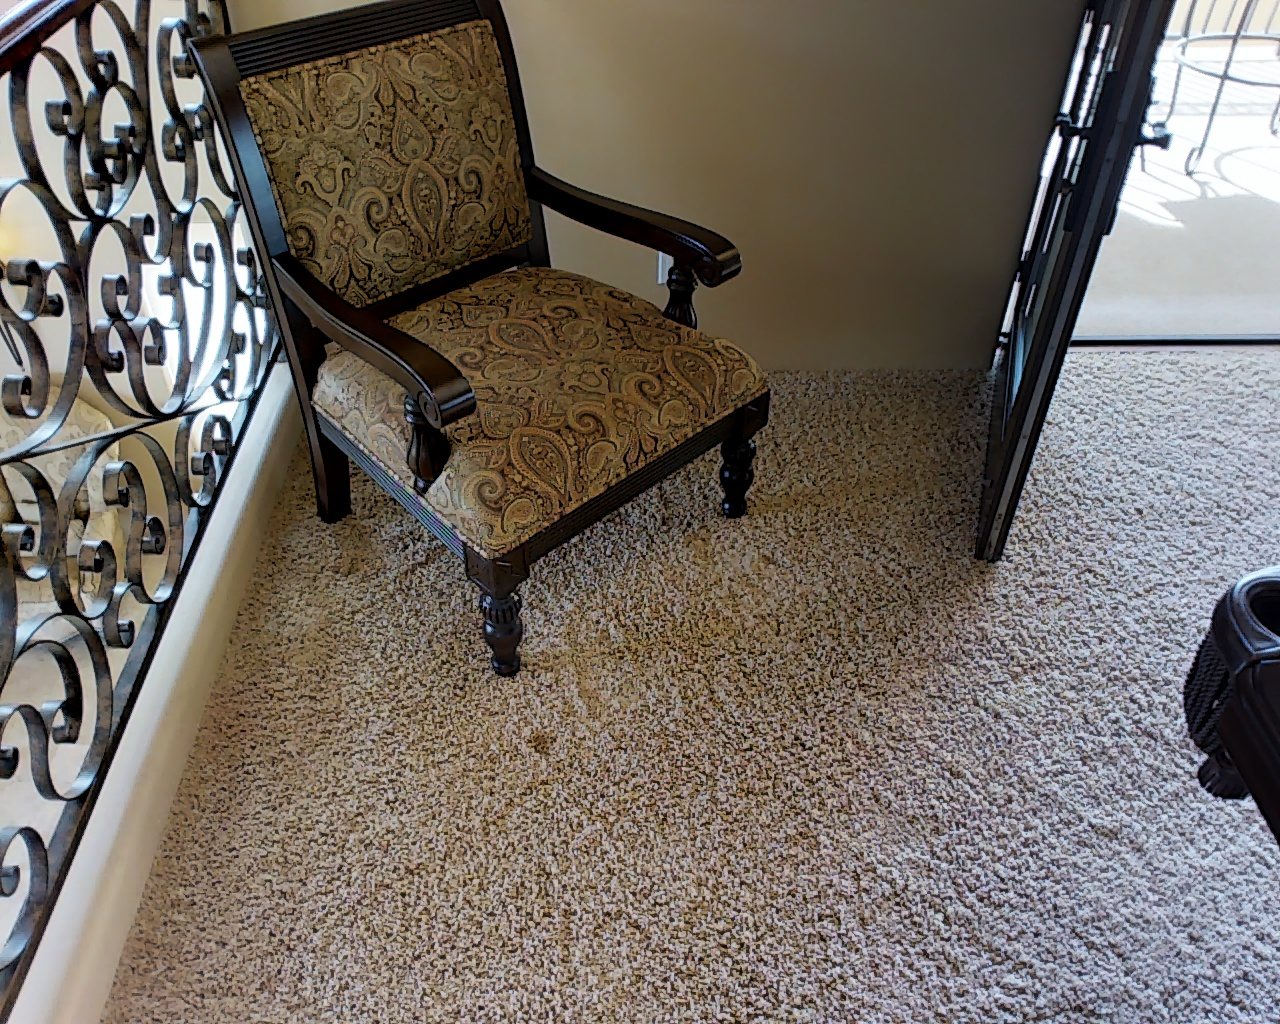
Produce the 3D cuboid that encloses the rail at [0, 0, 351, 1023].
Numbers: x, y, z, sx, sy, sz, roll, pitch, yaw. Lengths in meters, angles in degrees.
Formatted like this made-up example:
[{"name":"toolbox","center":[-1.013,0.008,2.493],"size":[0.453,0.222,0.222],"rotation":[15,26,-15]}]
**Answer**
[{"name":"rail","center":[-0.820,0.650,0.690],"size":[0.270,1.150,4.579],"rotation":[-1,41,-2]}]
